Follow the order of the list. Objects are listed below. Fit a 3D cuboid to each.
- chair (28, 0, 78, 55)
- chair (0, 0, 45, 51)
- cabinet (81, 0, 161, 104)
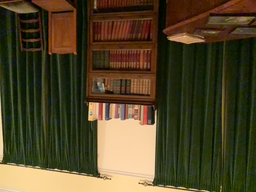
[{"bbox_3d":[-0.990,-1.120,2.860,0.460,1.050,0.470,3,-176,12],"label":"chair"},{"bbox_3d":[-1.530,-1.170,3.000,0.430,0.990,0.530,3,-176,12],"label":"chair"},{"bbox_3d":[-0.080,-0.770,2.730,0.920,1.670,0.390,3,-176,12],"label":"cabinet"}]
